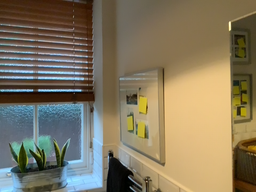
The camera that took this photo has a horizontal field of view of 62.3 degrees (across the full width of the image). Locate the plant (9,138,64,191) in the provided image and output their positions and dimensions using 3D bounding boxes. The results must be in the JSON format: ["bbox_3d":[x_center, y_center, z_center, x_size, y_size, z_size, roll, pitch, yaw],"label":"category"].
[{"bbox_3d":[-0.610,0.450,1.440,0.320,0.260,0.230,0,1,-22],"label":"plant"}]
